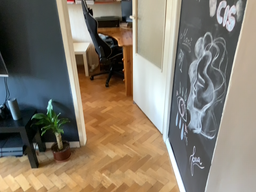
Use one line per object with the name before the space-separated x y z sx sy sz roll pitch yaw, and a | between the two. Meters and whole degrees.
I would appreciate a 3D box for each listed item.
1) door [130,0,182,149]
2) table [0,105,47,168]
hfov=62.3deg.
door | 0.220 -0.640 2.160 0.110 2.220 0.980 -9 29 -14
table | -1.290 0.360 1.870 0.960 0.460 0.290 -1 28 0
